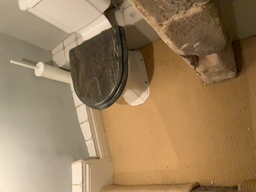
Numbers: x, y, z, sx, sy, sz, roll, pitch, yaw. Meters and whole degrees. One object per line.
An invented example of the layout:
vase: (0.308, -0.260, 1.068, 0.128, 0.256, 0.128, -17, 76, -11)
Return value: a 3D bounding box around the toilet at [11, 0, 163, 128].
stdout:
toilet: (-0.200, -0.230, 1.260, 0.410, 0.760, 0.700, -21, 69, 26)
